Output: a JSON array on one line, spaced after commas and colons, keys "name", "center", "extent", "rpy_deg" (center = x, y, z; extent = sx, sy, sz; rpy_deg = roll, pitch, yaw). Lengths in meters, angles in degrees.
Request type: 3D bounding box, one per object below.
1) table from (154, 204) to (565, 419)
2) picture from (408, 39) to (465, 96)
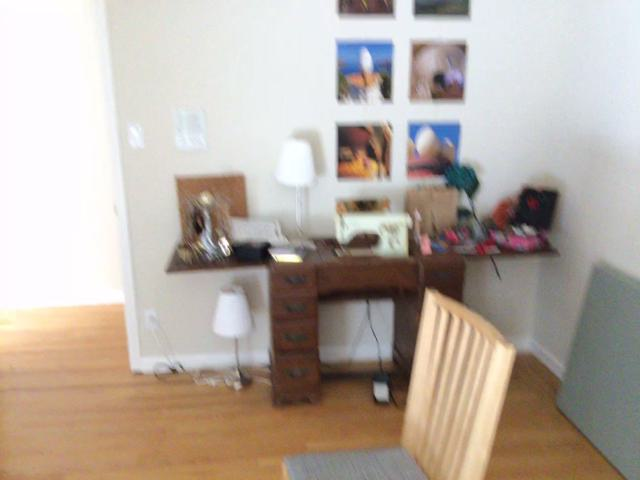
[{"name": "table", "center": [0.200, 0.330, 3.070], "extent": [1.970, 0.890, 0.510], "rpy_deg": [-3, 14, -8]}, {"name": "picture", "center": [0.600, -0.890, 2.990], "extent": [0.280, 0.280, 0.050], "rpy_deg": [-3, 14, -8]}]
